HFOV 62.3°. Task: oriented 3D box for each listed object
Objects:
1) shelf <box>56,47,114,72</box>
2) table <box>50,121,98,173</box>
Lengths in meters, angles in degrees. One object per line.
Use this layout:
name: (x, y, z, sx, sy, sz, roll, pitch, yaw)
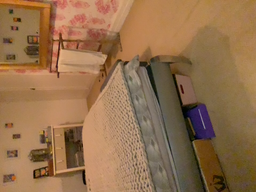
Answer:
shelf: (-0.660, -0.540, 3.250, 0.360, 0.810, 0.200, 135, 129, -59)
table: (-1.170, 1.070, 4.510, 0.520, 0.850, 0.910, 131, 133, -57)
